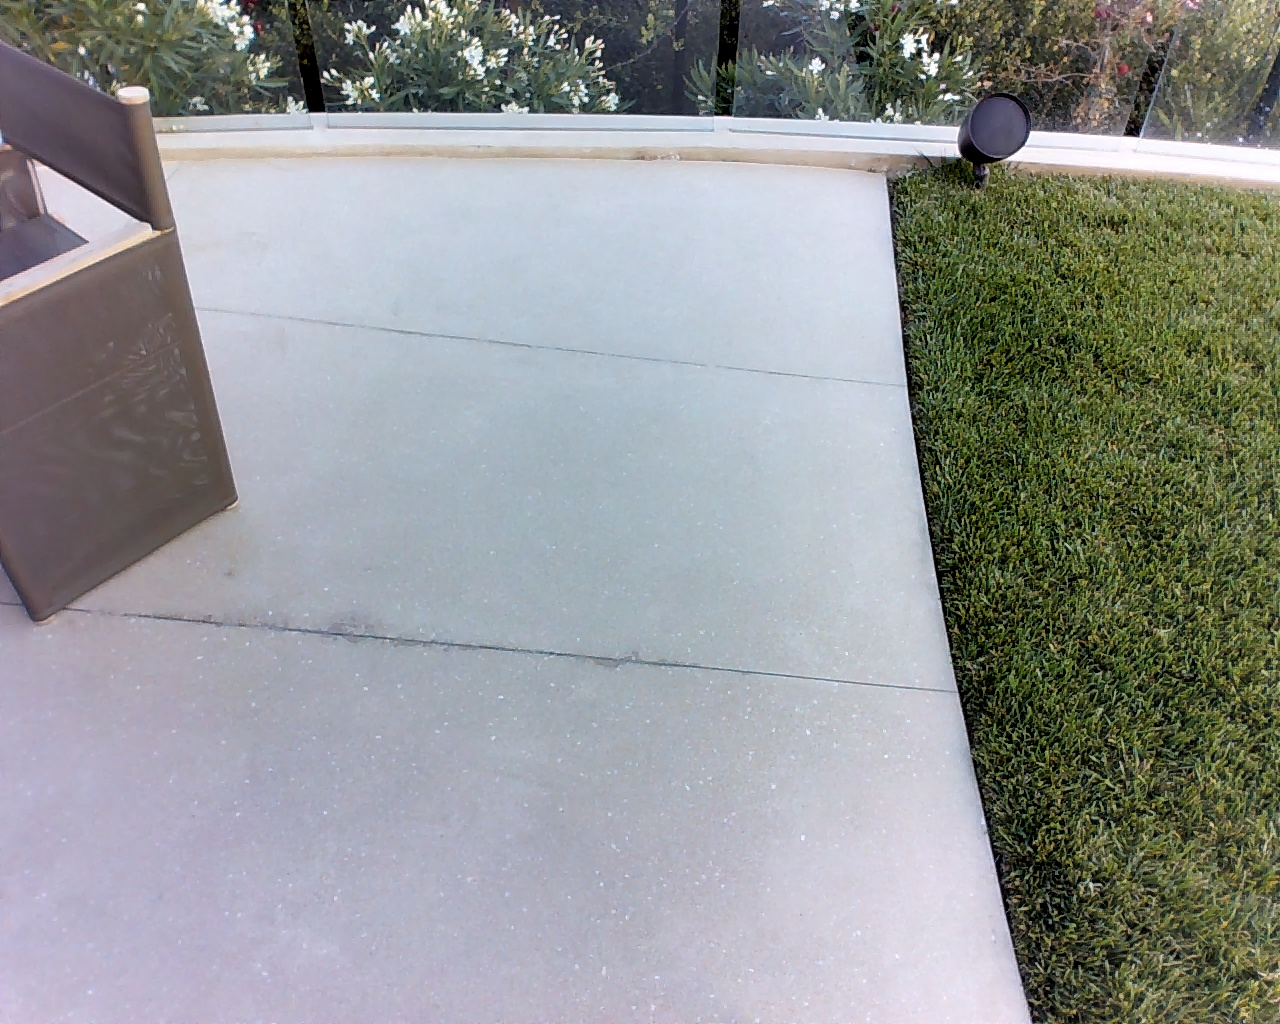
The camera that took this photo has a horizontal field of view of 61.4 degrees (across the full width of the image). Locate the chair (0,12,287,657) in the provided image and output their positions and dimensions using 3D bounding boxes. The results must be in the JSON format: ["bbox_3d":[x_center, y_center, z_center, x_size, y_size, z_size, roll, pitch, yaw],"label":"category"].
[{"bbox_3d":[-1.170,-0.340,1.970,0.620,0.850,0.590,29,49,27],"label":"chair"}]
